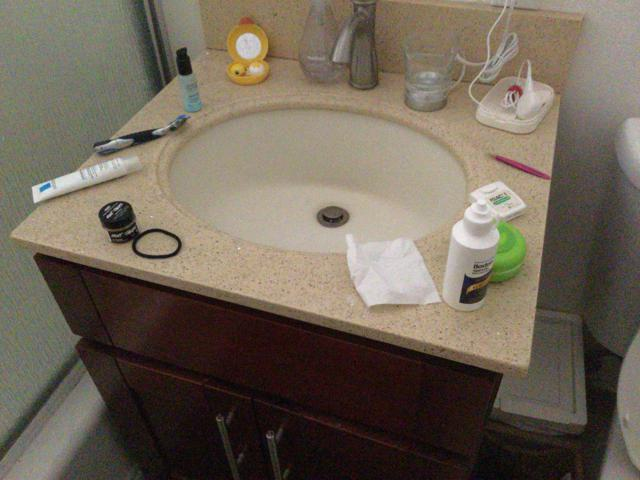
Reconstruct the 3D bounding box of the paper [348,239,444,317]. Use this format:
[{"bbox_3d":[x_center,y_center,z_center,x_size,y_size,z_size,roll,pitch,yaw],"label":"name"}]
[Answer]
[{"bbox_3d":[0.080,0.040,0.630,0.090,0.030,0.080,-5,42,0],"label":"paper"}]
